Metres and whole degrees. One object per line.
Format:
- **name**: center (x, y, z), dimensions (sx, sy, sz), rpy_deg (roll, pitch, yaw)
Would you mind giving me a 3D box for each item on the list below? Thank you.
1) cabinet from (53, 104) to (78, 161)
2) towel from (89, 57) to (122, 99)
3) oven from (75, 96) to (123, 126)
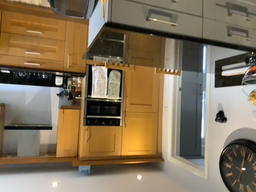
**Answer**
- **cabinet**: center (-0.980, 0.550, 3.310), dimensions (0.300, 0.820, 0.340), rpy_deg (4, 177, -20)
- **towel**: center (-0.330, -0.250, 3.080), dimensions (0.440, 0.560, 0.080), rpy_deg (4, 177, -16)
- **oven**: center (-0.480, 0.230, 3.360), dimensions (0.610, 0.410, 0.600), rpy_deg (4, 177, -20)
